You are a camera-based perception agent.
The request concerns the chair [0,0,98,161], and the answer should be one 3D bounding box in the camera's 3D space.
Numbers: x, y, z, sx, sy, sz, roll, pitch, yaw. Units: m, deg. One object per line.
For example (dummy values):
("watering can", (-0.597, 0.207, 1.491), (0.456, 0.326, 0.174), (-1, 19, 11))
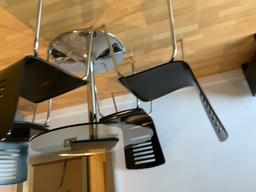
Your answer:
("chair", (-0.510, -0.110, 1.180), (0.400, 0.820, 0.530), (-17, 154, 21))
